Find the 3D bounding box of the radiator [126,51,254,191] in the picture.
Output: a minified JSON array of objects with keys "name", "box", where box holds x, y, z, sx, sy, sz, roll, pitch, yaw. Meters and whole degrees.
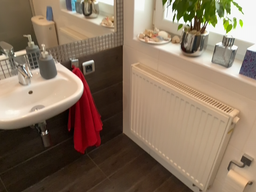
[{"name":"radiator","box":[0.280,0.210,1.400,0.170,0.780,0.760,-23,41,-30]}]
